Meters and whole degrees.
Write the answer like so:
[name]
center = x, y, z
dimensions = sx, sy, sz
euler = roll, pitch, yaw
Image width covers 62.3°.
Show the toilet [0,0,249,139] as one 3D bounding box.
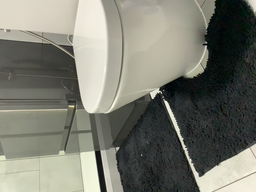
[toilet]
center = -0.160, -0.250, 0.790
dimensions = 0.400, 0.820, 0.660
euler = 119, 144, -47
